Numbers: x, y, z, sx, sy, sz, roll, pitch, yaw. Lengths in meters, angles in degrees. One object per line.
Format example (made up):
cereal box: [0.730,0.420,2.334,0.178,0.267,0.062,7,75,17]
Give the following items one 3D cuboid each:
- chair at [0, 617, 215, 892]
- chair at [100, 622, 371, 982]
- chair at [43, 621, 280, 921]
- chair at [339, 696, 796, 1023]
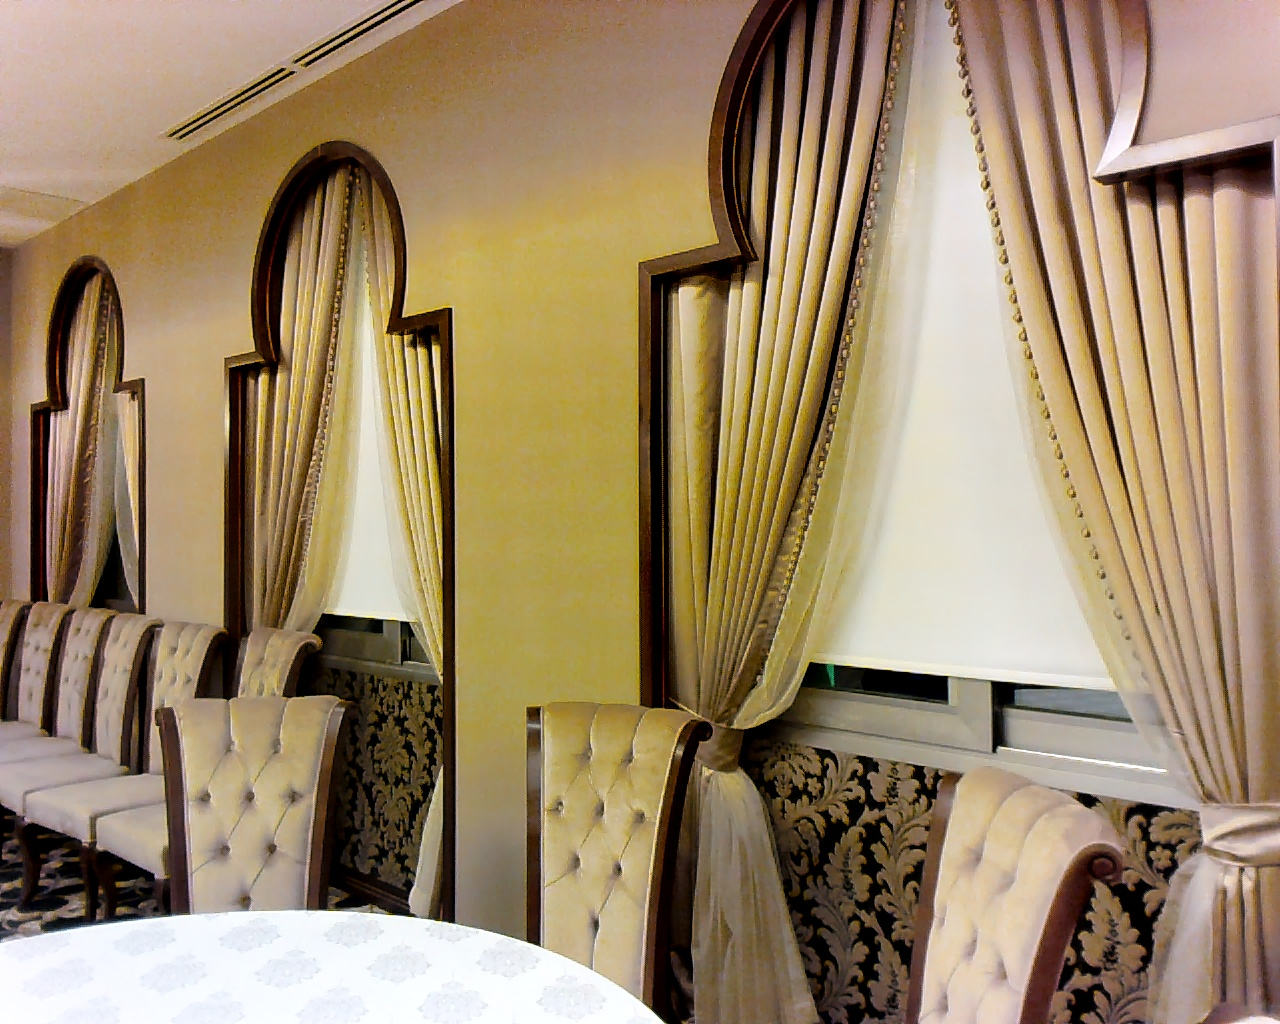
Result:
chair: [-2.399,1.030,4.830,0.550,1.030,0.750,-1,-1,43]
chair: [-1.519,1.010,4.060,0.630,1.100,0.760,-1,-1,43]
chair: [-1.959,1.000,4.420,0.560,1.020,0.730,-1,-1,43]
chair: [-0.130,1.020,2.300,0.610,1.090,0.780,-1,-1,38]
